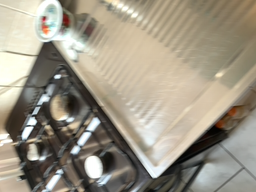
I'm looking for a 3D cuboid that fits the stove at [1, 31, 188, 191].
[{"bbox_3d":[-0.200,0.170,0.780,0.610,0.170,0.520,49,116,27],"label":"stove"}]
